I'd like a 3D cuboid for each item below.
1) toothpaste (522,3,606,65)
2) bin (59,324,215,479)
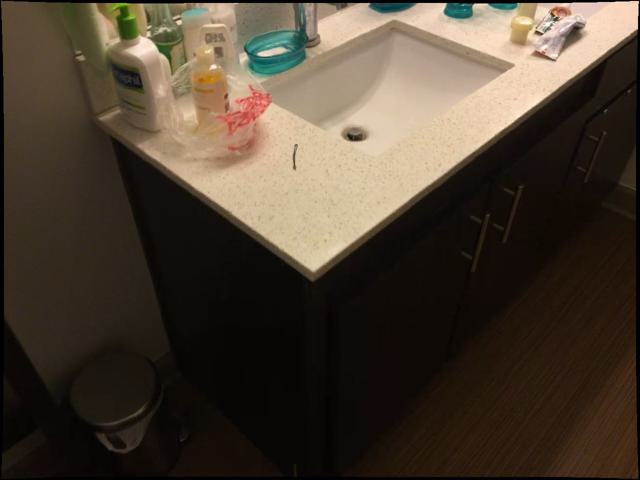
[{"bbox_3d":[0.509,-0.431,1.200,0.190,0.050,0.070,-34,53,-29],"label":"toothpaste"},{"bbox_3d":[-0.419,0.421,1.370,0.210,0.330,0.210,-34,53,-29],"label":"bin"}]
